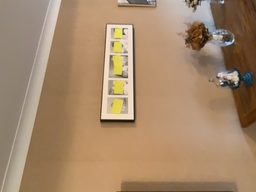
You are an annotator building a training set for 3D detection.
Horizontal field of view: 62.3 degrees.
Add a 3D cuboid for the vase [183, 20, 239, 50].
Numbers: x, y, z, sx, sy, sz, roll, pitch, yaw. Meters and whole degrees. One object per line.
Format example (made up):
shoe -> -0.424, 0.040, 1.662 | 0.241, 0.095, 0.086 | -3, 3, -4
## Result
vase -> 0.700, -0.520, 1.820 | 0.170, 0.390, 0.170 | 94, 176, -62
